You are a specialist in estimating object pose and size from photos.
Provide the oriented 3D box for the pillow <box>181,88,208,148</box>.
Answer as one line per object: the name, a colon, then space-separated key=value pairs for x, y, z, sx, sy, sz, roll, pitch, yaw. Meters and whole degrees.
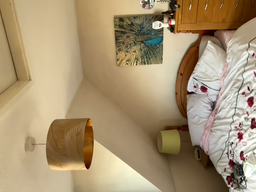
pillow: x=0.870 y=0.290 z=2.830 sx=0.390 sy=0.160 sz=0.690 roll=-92 pitch=1 yaw=-65

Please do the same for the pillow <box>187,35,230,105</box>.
pillow: x=0.910 y=-0.320 z=2.490 sx=0.500 sy=0.220 sz=0.690 roll=-92 pitch=1 yaw=-65
